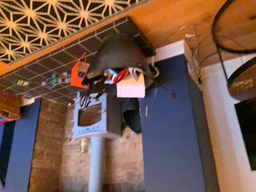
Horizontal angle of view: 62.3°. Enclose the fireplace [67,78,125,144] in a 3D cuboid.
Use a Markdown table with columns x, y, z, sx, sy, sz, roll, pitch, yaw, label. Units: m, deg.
| x | y | z | sx | sy | sz | roll | pitch | yaw | label |
| --- | --- | --- | --- | --- | --- | --- | --- | --- | --- |
| -0.320 | 0.170 | 2.160 | 0.480 | 0.530 | 0.290 | -14 | 154 | 26 | fireplace |
